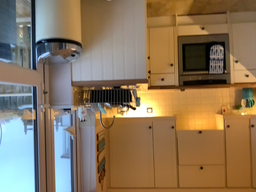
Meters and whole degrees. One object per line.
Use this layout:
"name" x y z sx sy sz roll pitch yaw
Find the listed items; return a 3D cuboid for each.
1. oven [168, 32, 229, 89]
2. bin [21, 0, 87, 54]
"oven" 0.890 -0.430 2.800 0.610 0.640 0.560 -2 179 3
"bin" -0.490 -0.660 1.470 0.300 0.640 0.400 -2 179 2
